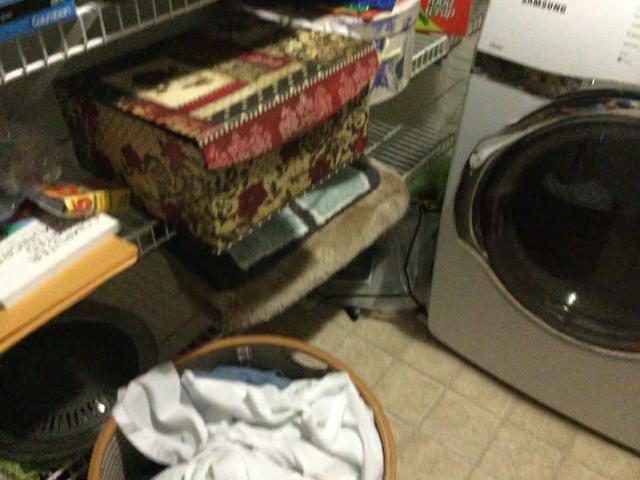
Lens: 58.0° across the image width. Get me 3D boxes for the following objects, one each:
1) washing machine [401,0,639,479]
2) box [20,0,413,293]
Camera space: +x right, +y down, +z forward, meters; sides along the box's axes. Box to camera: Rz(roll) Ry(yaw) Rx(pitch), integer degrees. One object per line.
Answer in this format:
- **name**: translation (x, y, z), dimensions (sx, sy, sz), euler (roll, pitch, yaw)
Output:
- **washing machine**: translation (0.740, -0.130, 1.290), dimensions (0.740, 1.020, 0.730), euler (28, 48, 29)
- **box**: translation (-0.140, -0.200, 0.940), dimensions (0.370, 0.210, 0.460), euler (28, 48, 29)
